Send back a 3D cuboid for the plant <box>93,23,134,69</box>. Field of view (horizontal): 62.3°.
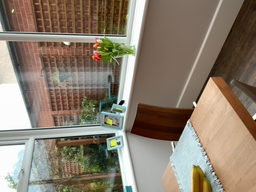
[{"bbox_3d":[-0.160,-0.480,2.030,0.260,0.330,0.360,101,162,-45],"label":"plant"}]
